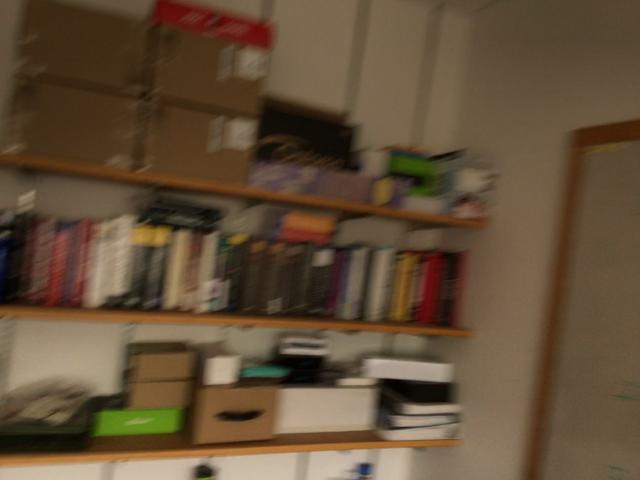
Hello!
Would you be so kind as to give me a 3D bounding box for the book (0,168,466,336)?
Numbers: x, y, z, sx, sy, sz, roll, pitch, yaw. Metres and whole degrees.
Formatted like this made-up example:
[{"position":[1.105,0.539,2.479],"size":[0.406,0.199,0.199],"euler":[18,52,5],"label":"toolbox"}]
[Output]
[{"position":[-0.190,0.080,1.820],"size":[1.420,0.360,0.220],"euler":[7,-4,-24],"label":"book"}]
